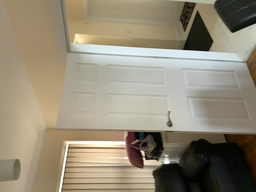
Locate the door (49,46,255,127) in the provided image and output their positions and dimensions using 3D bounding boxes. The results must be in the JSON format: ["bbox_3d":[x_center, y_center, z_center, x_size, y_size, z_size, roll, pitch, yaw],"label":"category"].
[{"bbox_3d":[0.380,-0.110,2.120,0.030,2.120,0.840,102,168,-58],"label":"door"}]

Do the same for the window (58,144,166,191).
[{"bbox_3d":[-0.210,1.070,3.030,0.030,1.450,0.810,100,170,-50],"label":"window"}]
